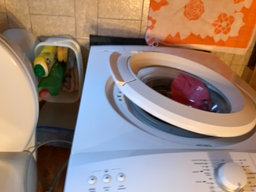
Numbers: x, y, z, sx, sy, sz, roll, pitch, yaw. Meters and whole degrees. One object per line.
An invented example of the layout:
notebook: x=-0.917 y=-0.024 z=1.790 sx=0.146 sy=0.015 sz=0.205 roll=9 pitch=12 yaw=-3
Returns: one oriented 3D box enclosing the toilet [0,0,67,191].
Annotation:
toilet: x=-0.500 y=0.070 z=0.770 sx=0.390 sy=0.740 sz=0.660 roll=2 pitch=122 yaw=-7
